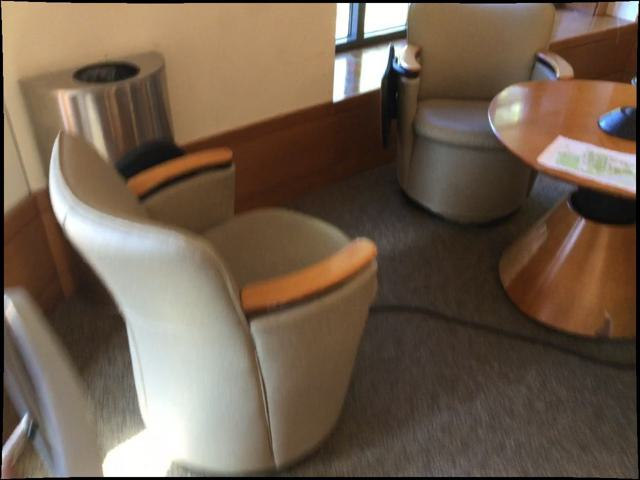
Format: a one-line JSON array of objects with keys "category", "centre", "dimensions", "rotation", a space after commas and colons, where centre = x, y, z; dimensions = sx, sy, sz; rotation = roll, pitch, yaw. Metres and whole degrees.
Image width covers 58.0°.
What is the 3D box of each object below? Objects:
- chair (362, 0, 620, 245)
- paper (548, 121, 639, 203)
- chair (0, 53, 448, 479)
[{"category": "chair", "centre": [0.628, -0.571, 2.430], "dimensions": [0.788, 0.801, 0.771], "rotation": [6, 39, 7]}, {"category": "paper", "centre": [0.838, -0.211, 1.580], "dimensions": [0.320, 0.030, 0.310], "rotation": [24, 44, 27]}, {"category": "chair", "centre": [-0.259, 0.110, 1.510], "dimensions": [0.789, 0.831, 0.710], "rotation": [-22, 43, -25]}]
